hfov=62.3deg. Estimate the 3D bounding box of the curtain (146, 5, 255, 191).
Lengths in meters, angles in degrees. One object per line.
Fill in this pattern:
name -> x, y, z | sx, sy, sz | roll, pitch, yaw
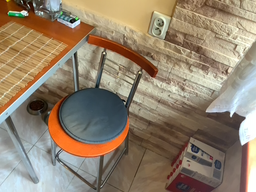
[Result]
curtain -> 0.530, -0.180, 0.420 | 0.360, 2.750, 0.430 | 22, 49, 7
